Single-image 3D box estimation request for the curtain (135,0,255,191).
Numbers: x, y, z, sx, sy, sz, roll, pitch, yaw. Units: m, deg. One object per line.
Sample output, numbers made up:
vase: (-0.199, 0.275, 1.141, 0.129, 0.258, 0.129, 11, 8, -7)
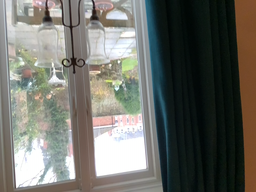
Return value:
curtain: (0.370, -0.320, 1.010, 0.610, 2.320, 0.220, -4, 177, -17)
